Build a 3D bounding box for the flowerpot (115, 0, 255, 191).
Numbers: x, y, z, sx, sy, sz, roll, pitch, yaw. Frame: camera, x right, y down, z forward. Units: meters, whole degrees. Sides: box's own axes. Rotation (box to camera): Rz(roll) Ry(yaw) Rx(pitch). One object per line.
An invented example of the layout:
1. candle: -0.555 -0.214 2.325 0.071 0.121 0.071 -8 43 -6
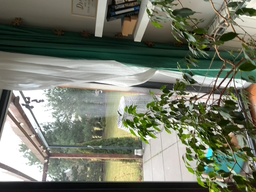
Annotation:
1. flowerpot: 0.660 0.040 1.290 0.990 1.330 1.210 118 153 -62
